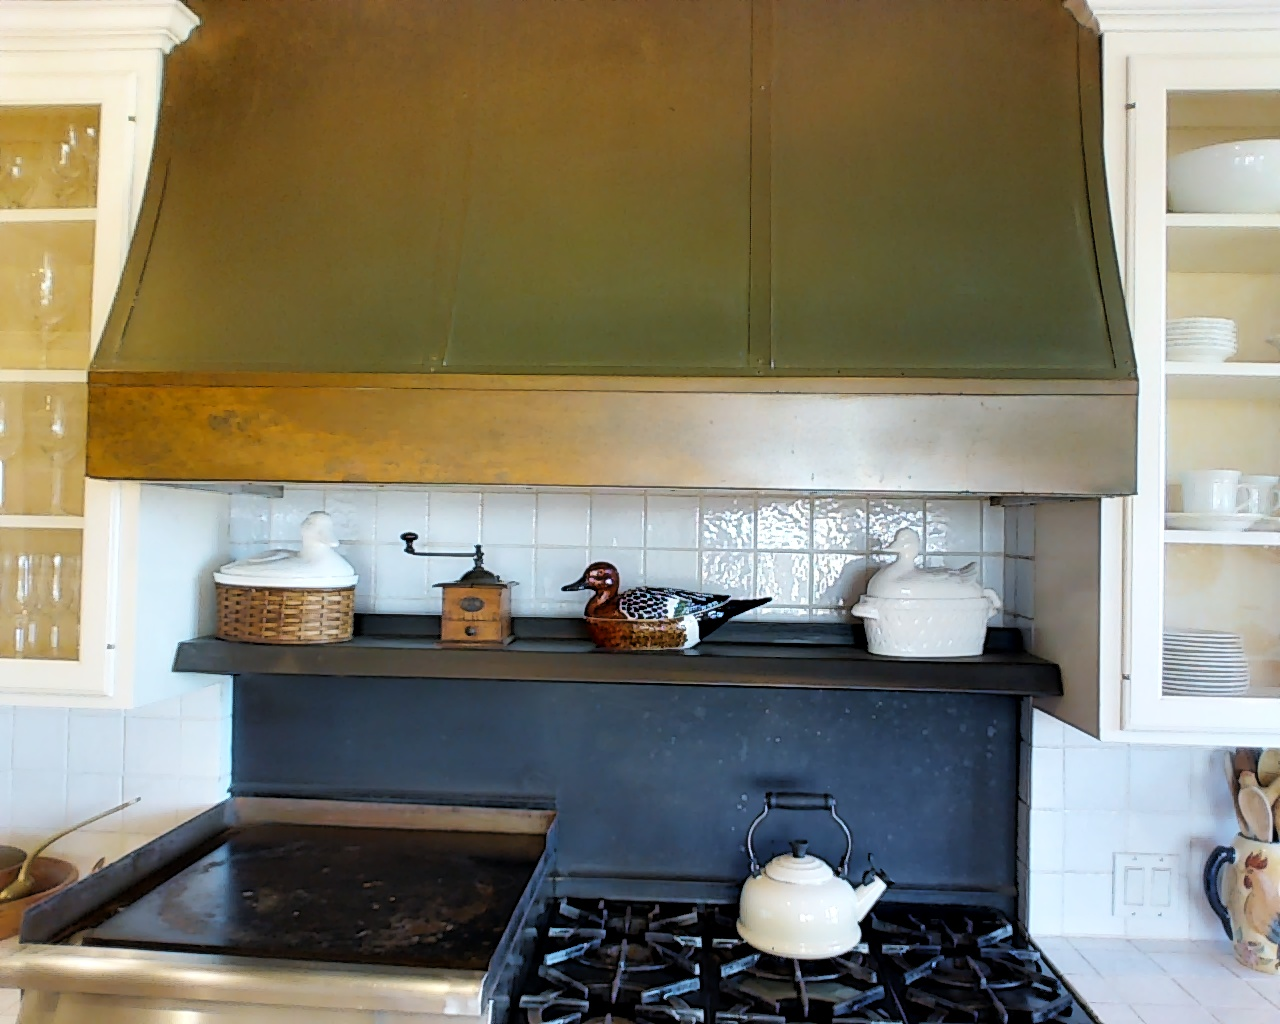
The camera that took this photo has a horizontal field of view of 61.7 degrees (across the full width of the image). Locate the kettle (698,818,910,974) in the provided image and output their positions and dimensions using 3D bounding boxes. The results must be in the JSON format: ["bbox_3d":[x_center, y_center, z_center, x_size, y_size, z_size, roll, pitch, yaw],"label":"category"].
[{"bbox_3d":[0.270,0.650,1.840,0.330,0.180,0.230,1,-1,1],"label":"kettle"}]
